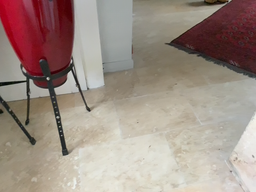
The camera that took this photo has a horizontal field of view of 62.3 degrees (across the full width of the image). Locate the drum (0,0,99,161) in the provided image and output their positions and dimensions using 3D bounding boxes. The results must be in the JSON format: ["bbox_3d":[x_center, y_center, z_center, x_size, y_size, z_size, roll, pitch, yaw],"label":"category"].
[{"bbox_3d":[-0.660,-0.230,1.190,0.900,1.180,0.600,-3,43,-5],"label":"drum"}]
